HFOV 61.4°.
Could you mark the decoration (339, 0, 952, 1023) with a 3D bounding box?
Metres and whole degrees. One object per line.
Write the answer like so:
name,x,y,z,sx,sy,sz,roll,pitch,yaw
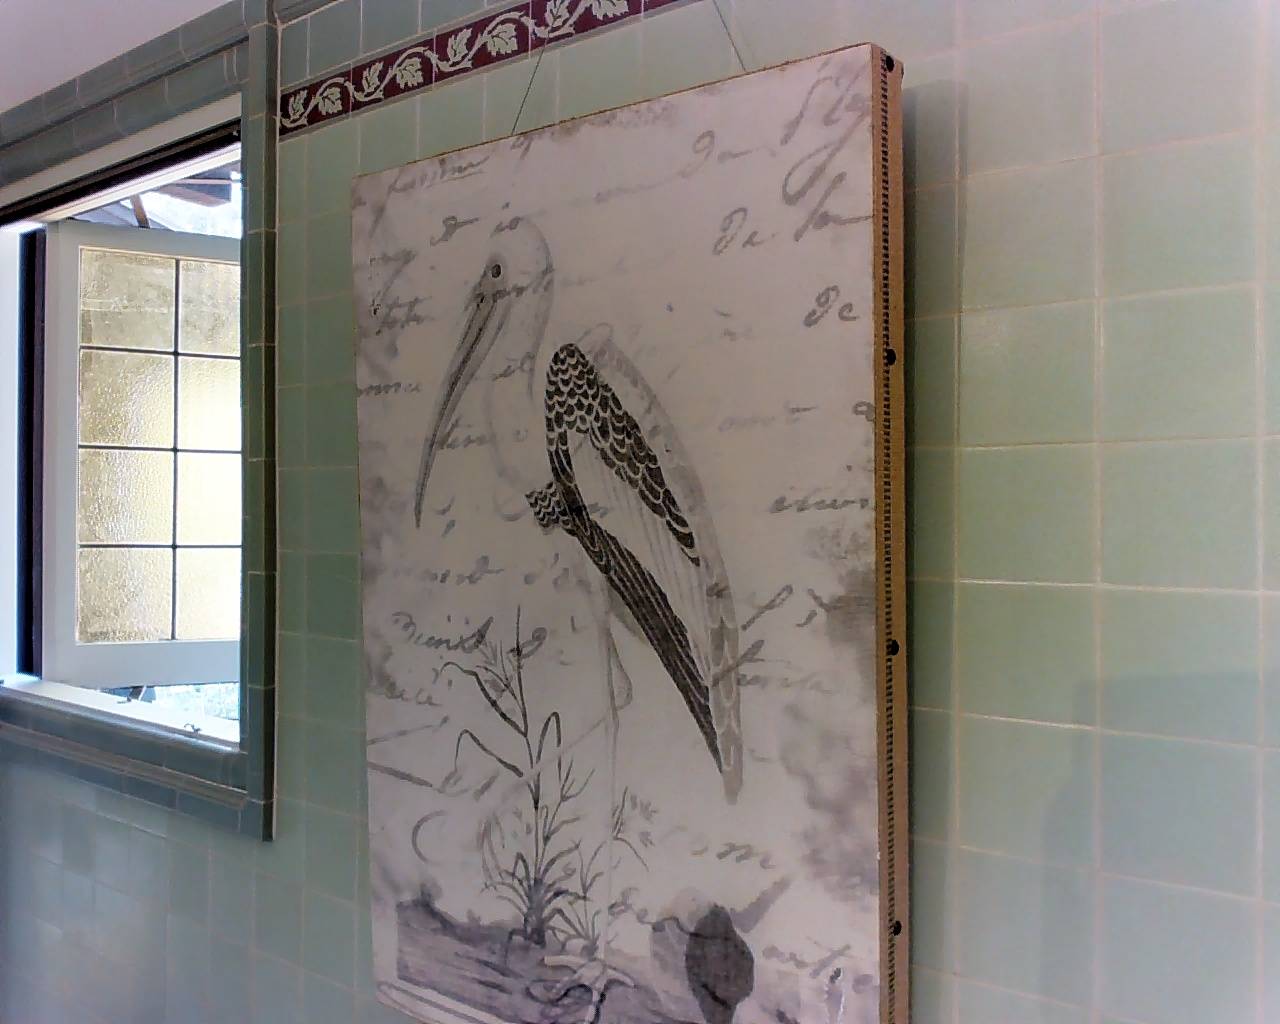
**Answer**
decoration,-0.040,0.100,1.040,0.650,1.010,0.110,1,0,38
